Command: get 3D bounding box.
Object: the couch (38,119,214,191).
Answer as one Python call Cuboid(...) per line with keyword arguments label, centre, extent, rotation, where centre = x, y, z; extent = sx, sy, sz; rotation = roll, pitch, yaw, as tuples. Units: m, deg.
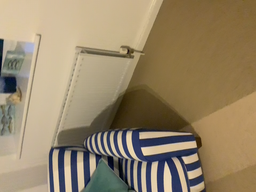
Cuboid(label="couch", centre=(-0.040, 0.690, 1.510), extent=(0.920, 0.840, 0.920), rotation=(-14, 81, 50))
